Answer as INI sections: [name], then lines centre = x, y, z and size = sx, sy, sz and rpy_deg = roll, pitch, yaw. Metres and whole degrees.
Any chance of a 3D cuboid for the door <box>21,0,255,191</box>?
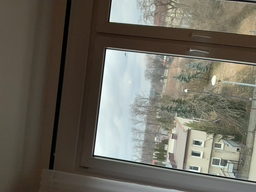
[door]
centre = 0.350, 0.090, 1.500
size = 0.210, 2.060, 1.660
rpy_deg = -18, -64, -84
